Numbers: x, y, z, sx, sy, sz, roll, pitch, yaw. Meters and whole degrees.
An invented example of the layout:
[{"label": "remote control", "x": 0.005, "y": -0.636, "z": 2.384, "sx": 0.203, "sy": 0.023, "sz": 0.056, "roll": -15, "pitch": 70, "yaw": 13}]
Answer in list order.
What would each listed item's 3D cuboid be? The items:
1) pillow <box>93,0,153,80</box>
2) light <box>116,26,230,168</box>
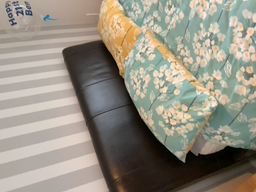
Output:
[{"label": "pillow", "x": -0.080, "y": -0.500, "z": 1.640, "sx": 0.390, "sy": 0.190, "sz": 0.660, "roll": 101, "pitch": 150, "yaw": -45}, {"label": "light", "x": 0.170, "y": -0.030, "z": 1.220, "sx": 0.430, "sy": 0.220, "sz": 0.690, "roll": 100, "pitch": 151, "yaw": -44}]
